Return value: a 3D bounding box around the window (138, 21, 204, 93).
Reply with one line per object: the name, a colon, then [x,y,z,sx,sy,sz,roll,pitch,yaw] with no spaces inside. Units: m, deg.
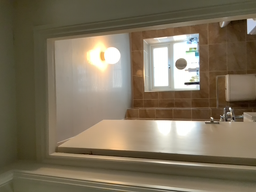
window: [0.740,-0.620,3.670,0.420,1.040,1.100,-8,-84,-72]
